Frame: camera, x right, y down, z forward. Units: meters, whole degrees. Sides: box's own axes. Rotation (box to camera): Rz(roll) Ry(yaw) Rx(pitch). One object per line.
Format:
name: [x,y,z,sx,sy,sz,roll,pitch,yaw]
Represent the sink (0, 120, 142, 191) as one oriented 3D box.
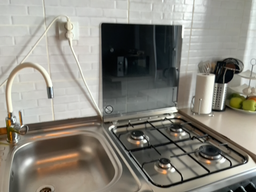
sink: [-0.260,0.290,0.860,0.450,0.150,0.500,-5,19,-22]
